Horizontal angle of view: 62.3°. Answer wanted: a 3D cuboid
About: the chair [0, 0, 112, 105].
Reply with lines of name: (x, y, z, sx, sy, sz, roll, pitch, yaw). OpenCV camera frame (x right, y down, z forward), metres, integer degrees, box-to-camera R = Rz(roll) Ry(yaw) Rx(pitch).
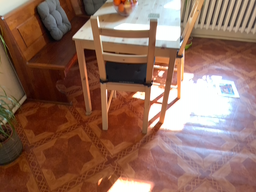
chair: (-0.660, -0.820, 2.530, 0.520, 0.770, 1.880, 6, 39, 6)

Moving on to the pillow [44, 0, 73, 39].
pillow: (-0.710, -0.800, 2.210, 0.090, 0.360, 0.370, 1, 20, 9)

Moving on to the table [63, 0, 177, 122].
table: (0.030, -0.460, 2.150, 0.810, 0.700, 1.190, 8, 39, 8)
